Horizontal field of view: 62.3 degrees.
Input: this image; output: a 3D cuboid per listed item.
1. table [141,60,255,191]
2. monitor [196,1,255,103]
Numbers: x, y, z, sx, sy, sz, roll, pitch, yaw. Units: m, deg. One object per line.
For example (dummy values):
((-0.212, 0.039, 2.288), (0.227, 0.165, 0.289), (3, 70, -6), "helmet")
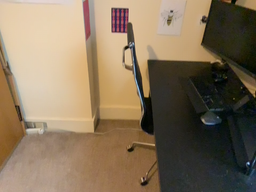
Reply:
((0.590, 0.370, 1.580), (0.910, 0.720, 1.480), (2, 32, 0), "table")
((0.760, -0.360, 1.570), (0.050, 0.540, 0.680), (-7, 33, -14), "monitor")
